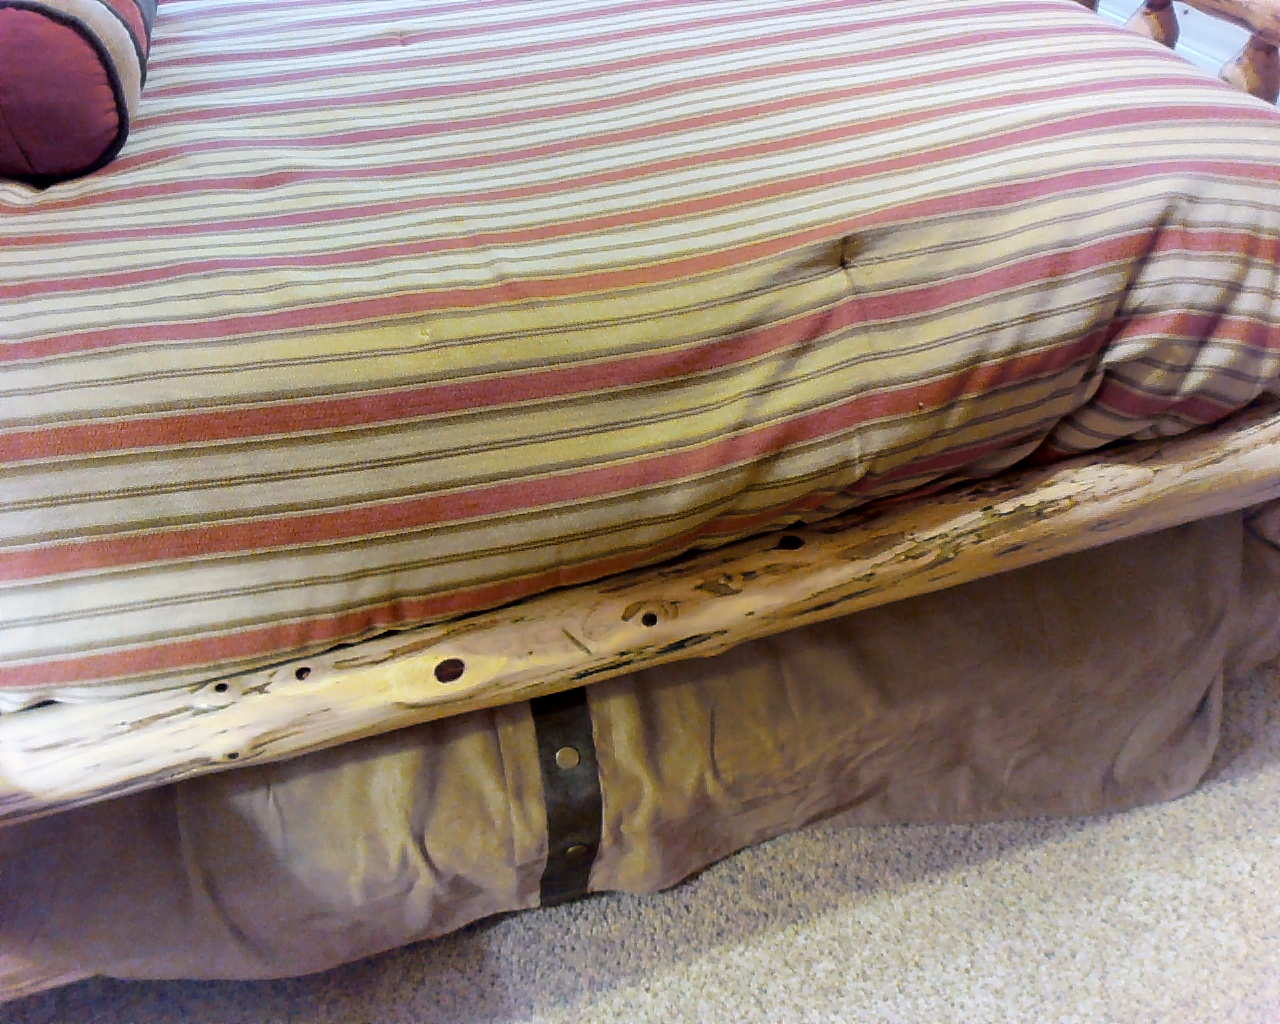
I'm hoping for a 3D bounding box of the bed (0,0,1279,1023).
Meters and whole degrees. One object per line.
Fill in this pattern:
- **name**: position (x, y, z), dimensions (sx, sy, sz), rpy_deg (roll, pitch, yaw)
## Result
- **bed**: position (-0.230, -0.490, 1.650), dimensions (2.300, 0.920, 2.030), rpy_deg (-14, 43, -16)
